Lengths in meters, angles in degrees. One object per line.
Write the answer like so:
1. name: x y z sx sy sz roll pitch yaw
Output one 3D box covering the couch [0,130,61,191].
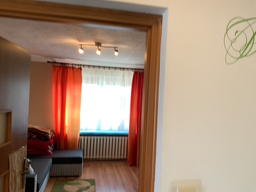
1. couch: -1.950 1.240 4.030 0.970 0.750 2.160 3 1 -10
